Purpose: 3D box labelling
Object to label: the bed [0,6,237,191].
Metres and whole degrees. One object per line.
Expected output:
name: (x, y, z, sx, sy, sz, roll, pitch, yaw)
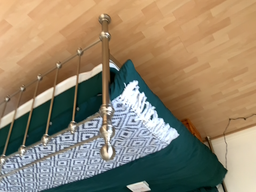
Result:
bed: (-0.140, 0.570, 2.090, 1.660, 0.650, 2.130, -26, 138, 24)
